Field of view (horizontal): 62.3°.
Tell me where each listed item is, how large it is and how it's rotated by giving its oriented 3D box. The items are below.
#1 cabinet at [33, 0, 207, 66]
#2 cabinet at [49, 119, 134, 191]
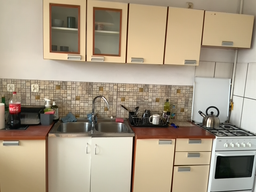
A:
[{"bbox_3d":[-0.060,-0.660,2.250,1.700,0.590,0.320,2,8,-9],"label":"cabinet"},{"bbox_3d":[-0.390,0.730,2.300,0.790,0.830,0.520,2,8,-9],"label":"cabinet"}]
